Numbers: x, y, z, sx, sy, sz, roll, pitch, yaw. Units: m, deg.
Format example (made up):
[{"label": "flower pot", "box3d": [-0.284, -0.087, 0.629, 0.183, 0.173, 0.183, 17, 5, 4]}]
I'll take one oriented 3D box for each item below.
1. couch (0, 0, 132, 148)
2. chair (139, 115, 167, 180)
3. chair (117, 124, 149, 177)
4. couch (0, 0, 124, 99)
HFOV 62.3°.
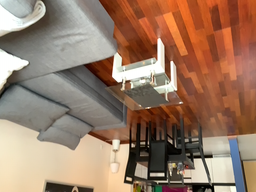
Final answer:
[{"label": "couch", "box3d": [-0.910, -0.070, 2.340, 0.990, 0.690, 2.390, -10, 151, 24]}, {"label": "chair", "box3d": [0.460, 0.930, 3.810, 0.350, 1.050, 0.490, -8, 152, 21]}, {"label": "chair", "box3d": [0.120, 1.130, 4.350, 0.520, 0.970, 0.370, -10, 151, 24]}, {"label": "couch", "box3d": [-0.500, -0.500, 1.440, 0.610, 0.670, 0.840, -10, 151, 24]}]
